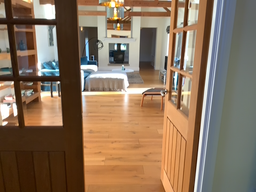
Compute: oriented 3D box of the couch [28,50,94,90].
[{"bbox_3d":[-2.150,-1.090,7.730,1.360,0.850,3.590,1,16,-2],"label":"couch"}]
